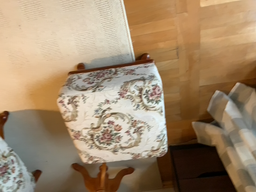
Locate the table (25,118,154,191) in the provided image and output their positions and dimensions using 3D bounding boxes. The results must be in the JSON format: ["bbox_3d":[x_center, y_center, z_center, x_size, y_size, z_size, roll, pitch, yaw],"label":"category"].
[{"bbox_3d":[-0.150,0.580,1.210,0.580,0.610,0.570,-9,125,5],"label":"table"}]
